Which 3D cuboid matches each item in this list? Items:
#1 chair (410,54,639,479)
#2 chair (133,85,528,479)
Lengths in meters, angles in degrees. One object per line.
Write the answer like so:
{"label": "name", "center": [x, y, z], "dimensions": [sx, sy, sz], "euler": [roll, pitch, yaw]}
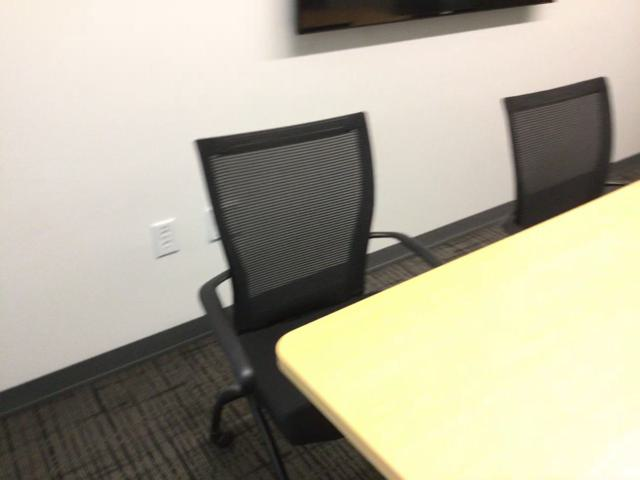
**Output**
{"label": "chair", "center": [0.710, 0.040, 1.560], "dimensions": [0.610, 0.870, 0.690], "euler": [-18, 32, -25]}
{"label": "chair", "center": [0.010, 0.200, 1.370], "dimensions": [0.560, 0.930, 0.590], "euler": [-18, 32, -25]}
